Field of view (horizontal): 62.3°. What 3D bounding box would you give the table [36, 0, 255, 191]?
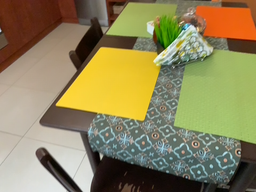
[{"bbox_3d":[0.220,0.040,1.180,0.690,0.760,1.090,8,42,13],"label":"table"}]
